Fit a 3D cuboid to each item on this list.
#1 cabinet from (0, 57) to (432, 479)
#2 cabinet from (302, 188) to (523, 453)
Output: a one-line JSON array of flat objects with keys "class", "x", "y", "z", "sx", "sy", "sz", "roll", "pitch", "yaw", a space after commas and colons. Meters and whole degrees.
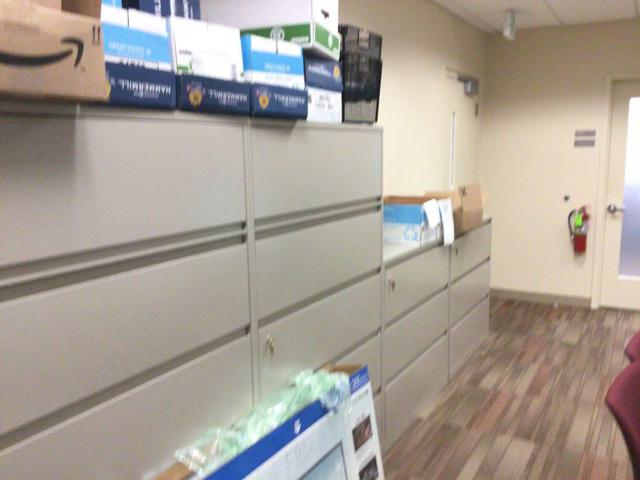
[{"class": "cabinet", "x": -0.300, "y": 0.310, "z": 2.130, "sx": 0.550, "sy": 1.690, "sz": 2.350, "roll": 2, "pitch": 12, "yaw": 32}, {"class": "cabinet", "x": 0.780, "y": 0.310, "z": 3.830, "sx": 0.600, "sy": 1.050, "sz": 2.240, "roll": 2, "pitch": 12, "yaw": 32}]
